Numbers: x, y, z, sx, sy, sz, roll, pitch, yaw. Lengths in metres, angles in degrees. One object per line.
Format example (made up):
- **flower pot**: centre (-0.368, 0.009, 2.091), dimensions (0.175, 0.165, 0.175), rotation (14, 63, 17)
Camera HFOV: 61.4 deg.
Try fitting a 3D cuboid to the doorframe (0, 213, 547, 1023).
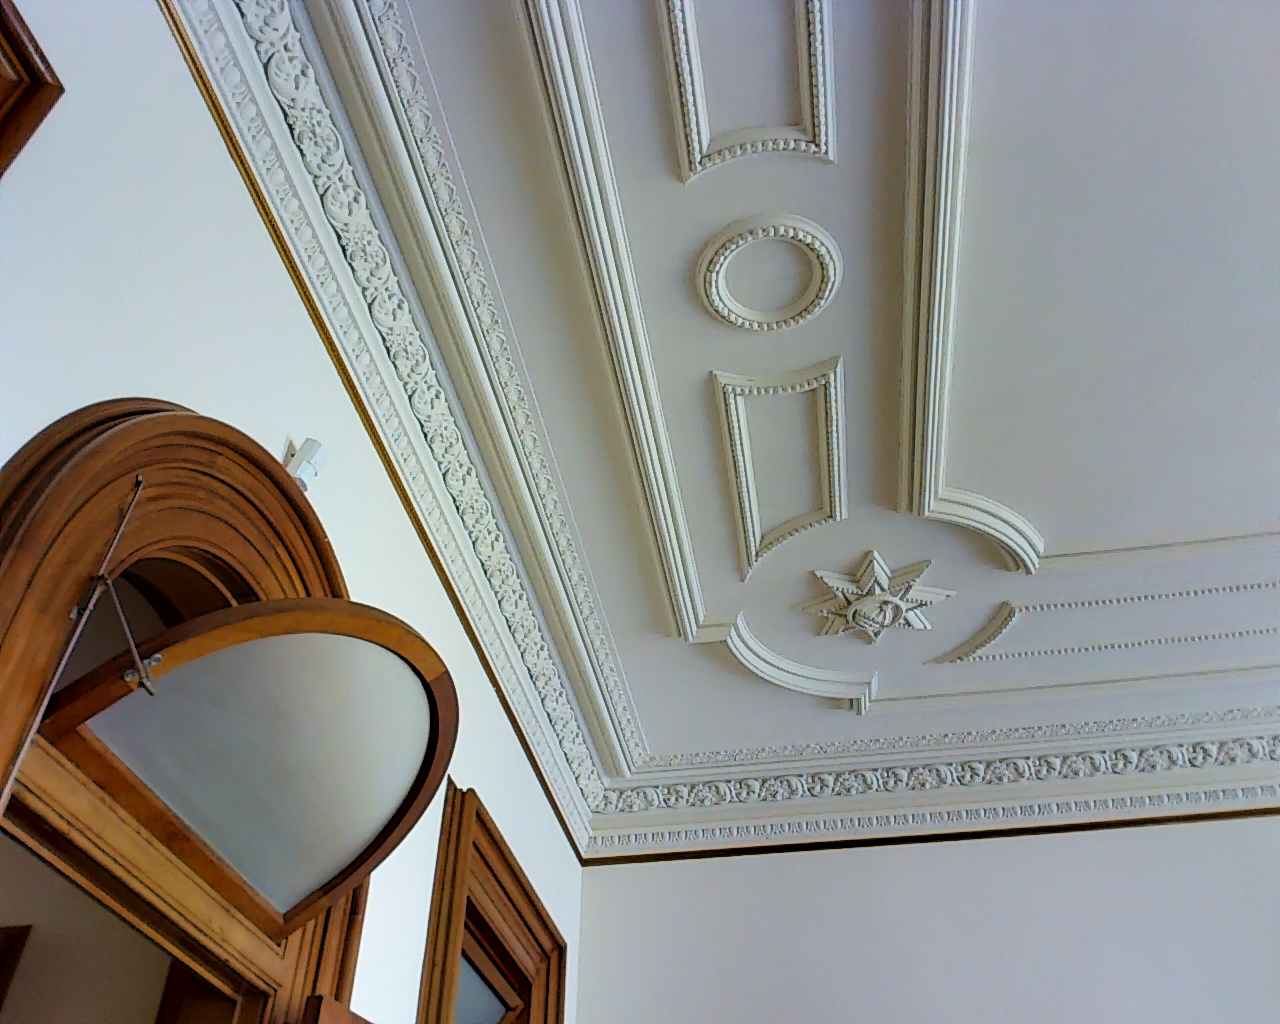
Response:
- **doorframe**: centre (-0.630, 1.160, 1.530), dimensions (0.480, 3.271, 1.470), rotation (-7, -42, 7)
